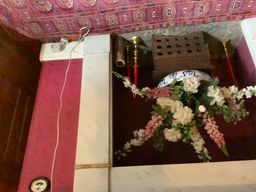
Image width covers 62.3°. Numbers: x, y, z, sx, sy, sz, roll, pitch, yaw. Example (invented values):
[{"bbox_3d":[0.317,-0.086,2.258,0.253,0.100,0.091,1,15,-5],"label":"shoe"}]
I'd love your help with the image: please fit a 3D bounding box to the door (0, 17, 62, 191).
[{"bbox_3d":[-0.740,0.550,1.310,0.040,2.010,0.880,-8,153,10],"label":"door"}]
